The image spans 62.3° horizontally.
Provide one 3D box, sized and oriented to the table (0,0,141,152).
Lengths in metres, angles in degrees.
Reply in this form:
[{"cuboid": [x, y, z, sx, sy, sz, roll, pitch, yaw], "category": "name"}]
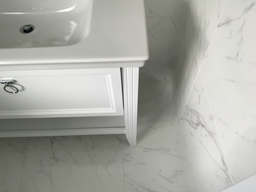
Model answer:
[{"cuboid": [-0.450, -0.090, 1.150, 0.970, 0.740, 0.530, -2, 57, -1], "category": "table"}]
